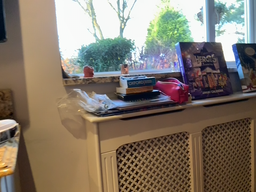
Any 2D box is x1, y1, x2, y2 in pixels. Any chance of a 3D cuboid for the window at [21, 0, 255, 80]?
[{"bbox_3d":[0.350,-0.770,1.470,2.000,1.180,0.160,-6,7,-25],"label":"window"}]
